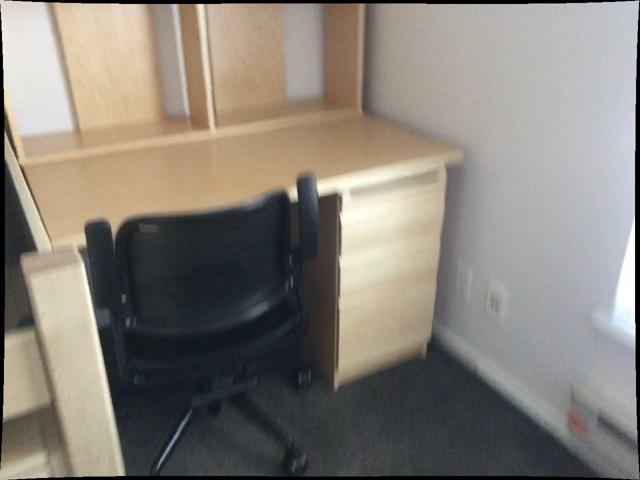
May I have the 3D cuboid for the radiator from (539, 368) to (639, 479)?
[{"bbox_3d":[0.958,0.681,1.350,0.100,0.240,0.970,-15,31,-28],"label":"radiator"}]
